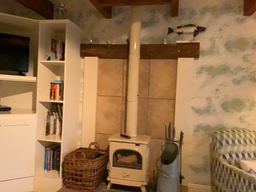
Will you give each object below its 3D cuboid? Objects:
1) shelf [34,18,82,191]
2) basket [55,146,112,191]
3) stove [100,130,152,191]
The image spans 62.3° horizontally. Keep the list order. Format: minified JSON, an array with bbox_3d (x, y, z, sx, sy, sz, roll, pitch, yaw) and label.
[{"bbox_3d":[-0.840,0.110,2.580,0.340,1.960,0.390,3,2,10],"label":"shelf"},{"bbox_3d":[-0.490,0.810,2.450,0.490,0.310,0.460,3,2,9],"label":"basket"},{"bbox_3d":[0.000,0.720,2.400,0.480,0.560,0.450,3,2,11],"label":"stove"}]
